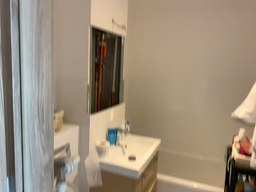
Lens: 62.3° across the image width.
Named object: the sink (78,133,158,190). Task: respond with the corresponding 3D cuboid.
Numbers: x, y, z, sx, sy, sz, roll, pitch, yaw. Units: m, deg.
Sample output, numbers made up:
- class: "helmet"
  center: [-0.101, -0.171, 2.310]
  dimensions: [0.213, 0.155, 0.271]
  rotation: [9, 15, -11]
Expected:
- class: "sink"
  center: [-0.040, 0.480, 1.720]
  dimensions: [0.410, 0.120, 0.650]
  rotation: [6, 9, 21]
